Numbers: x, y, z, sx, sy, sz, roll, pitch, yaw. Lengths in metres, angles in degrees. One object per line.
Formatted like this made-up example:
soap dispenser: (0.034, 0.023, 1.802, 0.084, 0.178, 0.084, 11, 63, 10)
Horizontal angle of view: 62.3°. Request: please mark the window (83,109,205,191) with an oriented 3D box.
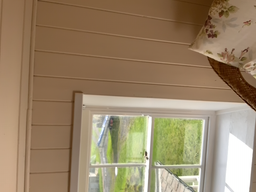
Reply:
window: (0.160, 0.580, 1.860, 0.120, 1.050, 0.880, -171, 85, -74)
